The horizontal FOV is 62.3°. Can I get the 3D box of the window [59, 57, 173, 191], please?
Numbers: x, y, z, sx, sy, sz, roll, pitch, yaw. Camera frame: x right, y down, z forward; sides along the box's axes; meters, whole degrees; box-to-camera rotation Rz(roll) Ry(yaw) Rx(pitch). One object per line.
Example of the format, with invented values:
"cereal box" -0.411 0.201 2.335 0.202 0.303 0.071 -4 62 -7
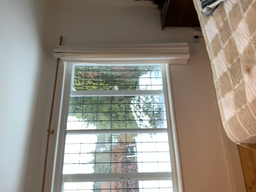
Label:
"window" -0.160 0.360 2.880 0.100 1.350 1.970 97 172 -69
